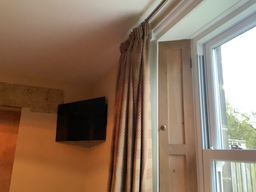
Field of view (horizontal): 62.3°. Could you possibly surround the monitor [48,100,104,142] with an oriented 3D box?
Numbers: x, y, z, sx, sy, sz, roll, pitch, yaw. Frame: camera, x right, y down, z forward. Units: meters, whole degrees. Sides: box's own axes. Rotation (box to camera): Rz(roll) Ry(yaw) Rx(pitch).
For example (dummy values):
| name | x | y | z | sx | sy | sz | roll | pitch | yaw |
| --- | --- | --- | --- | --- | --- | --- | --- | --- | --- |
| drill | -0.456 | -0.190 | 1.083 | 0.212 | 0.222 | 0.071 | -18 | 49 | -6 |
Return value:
| name | x | y | z | sx | sy | sz | roll | pitch | yaw |
| --- | --- | --- | --- | --- | --- | --- | --- | --- | --- |
| monitor | -0.720 | 0.340 | 2.830 | 0.930 | 0.500 | 0.070 | -6 | -15 | 34 |
